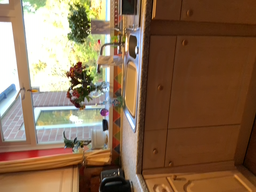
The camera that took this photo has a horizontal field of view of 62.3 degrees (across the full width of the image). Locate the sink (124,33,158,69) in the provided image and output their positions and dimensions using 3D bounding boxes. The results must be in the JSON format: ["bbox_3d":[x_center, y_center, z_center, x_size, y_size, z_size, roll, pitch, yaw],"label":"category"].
[{"bbox_3d":[0.070,-0.320,1.450,0.390,0.120,0.190,-123,34,-67],"label":"sink"}]

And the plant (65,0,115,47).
[{"bbox_3d":[-0.310,-0.600,1.730,0.270,0.360,0.350,-120,31,-65],"label":"plant"}]

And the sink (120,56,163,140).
[{"bbox_3d":[0.070,-0.020,1.590,0.530,0.160,0.470,-123,34,-67],"label":"sink"}]

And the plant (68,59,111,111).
[{"bbox_3d":[-0.350,-0.110,1.930,0.310,0.350,0.390,-123,33,-67],"label":"plant"}]

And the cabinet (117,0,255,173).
[{"bbox_3d":[0.450,-0.490,1.510,0.620,0.910,1.900,-123,34,-67],"label":"cabinet"}]
